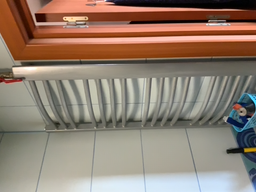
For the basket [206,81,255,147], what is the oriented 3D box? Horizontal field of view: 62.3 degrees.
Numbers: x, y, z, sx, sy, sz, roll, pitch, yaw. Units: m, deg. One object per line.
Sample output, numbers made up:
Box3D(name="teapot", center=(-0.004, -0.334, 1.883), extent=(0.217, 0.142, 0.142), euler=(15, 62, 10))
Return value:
Box3D(name="basket", center=(0.580, 0.090, 0.960), extent=(0.320, 0.320, 0.140), euler=(91, 177, -51))
